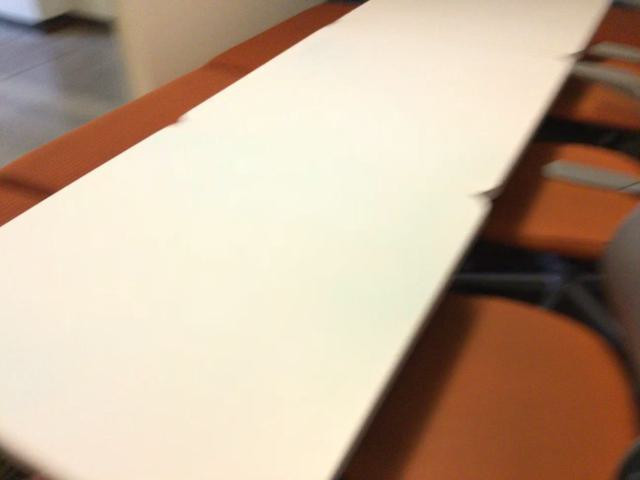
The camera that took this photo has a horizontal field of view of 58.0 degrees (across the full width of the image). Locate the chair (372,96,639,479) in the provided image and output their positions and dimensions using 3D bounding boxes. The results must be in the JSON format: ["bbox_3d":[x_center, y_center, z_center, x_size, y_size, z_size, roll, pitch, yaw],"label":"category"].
[{"bbox_3d":[0.400,0.300,0.960,0.550,0.910,0.460,7,38,13],"label":"chair"}]

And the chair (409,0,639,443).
[{"bbox_3d":[0.660,-0.090,1.490,0.660,0.950,0.630,11,40,16],"label":"chair"}]

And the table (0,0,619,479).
[{"bbox_3d":[0.170,-0.390,1.480,0.820,0.090,2.190,17,42,25],"label":"table"}]

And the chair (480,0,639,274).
[{"bbox_3d":[0.950,-0.480,1.900,0.640,0.950,0.630,9,40,14],"label":"chair"}]
